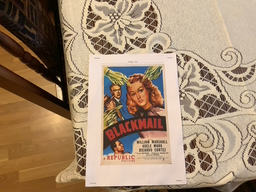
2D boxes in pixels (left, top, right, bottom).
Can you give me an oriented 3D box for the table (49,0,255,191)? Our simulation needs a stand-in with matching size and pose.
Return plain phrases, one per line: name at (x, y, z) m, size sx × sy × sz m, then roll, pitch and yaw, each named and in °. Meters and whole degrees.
table at (0.170, -0.400, 0.970) m, size 0.830 × 0.760 × 1.410 m, roll -10°, pitch 76°, yaw -3°
